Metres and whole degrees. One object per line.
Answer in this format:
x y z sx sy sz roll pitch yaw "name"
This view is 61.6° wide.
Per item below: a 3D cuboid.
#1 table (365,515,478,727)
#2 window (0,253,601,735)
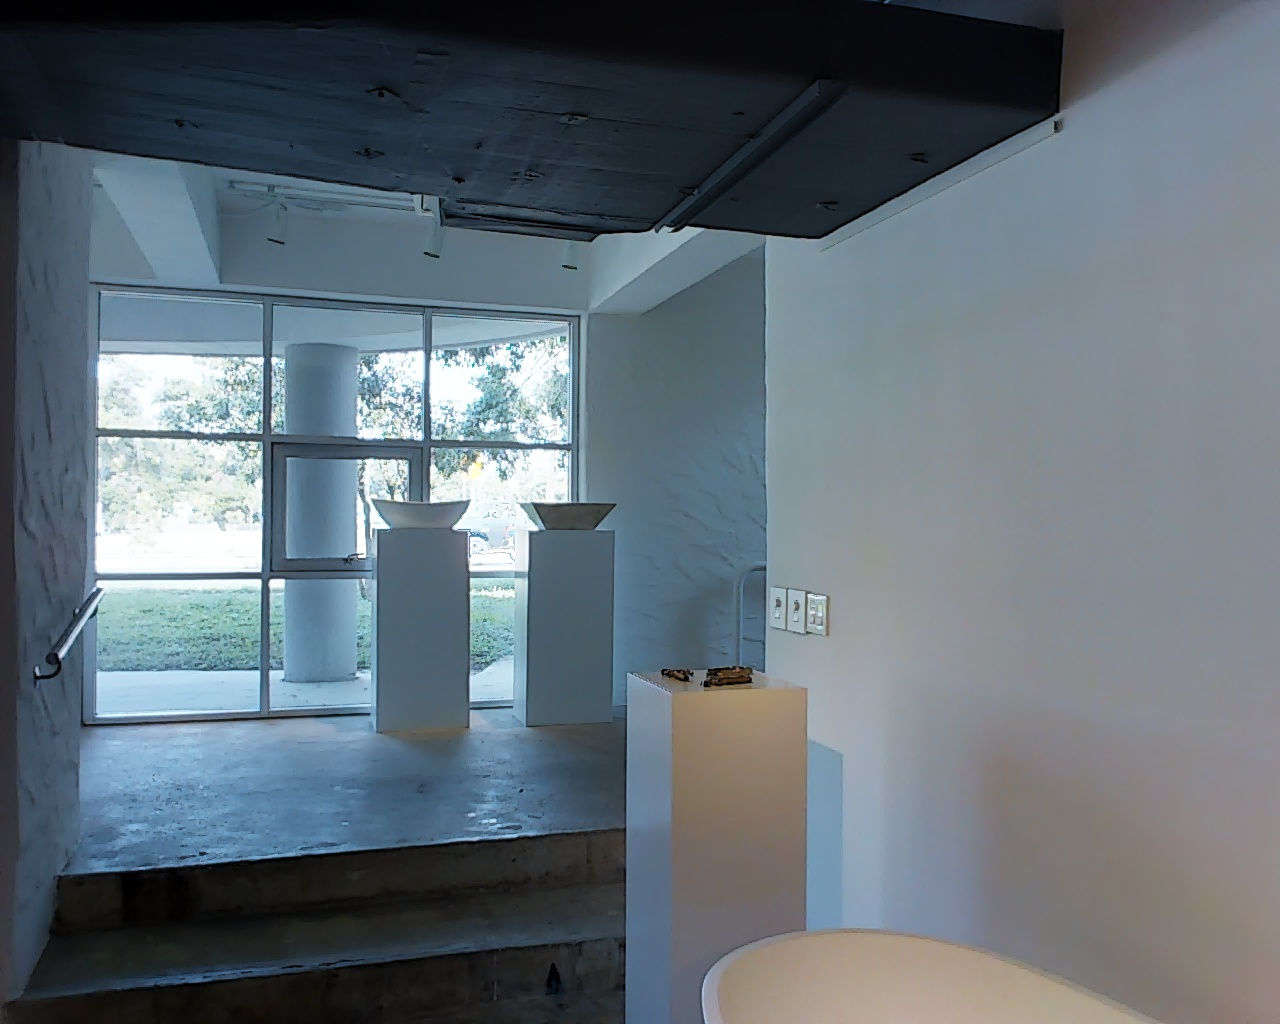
-1.200 0.570 5.870 0.550 1.100 0.420 1 0 -18 "table"
-2.250 -0.080 6.100 4.050 2.470 0.500 1 0 -18 "window"
